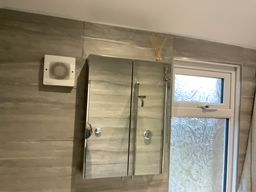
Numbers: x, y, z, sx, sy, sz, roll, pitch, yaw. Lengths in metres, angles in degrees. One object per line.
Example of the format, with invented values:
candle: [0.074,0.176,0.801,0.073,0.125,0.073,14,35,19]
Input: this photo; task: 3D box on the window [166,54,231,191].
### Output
window: [0.560,0.310,1.670,0.510,1.220,0.070,3,-2,-17]
